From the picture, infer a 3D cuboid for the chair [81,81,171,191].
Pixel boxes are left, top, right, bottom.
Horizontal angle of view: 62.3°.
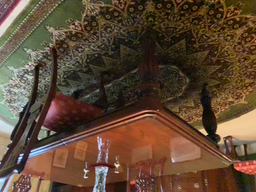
[{"bbox_3d":[-0.010,0.480,2.120,0.570,0.970,0.570,26,141,-33],"label":"chair"}]
